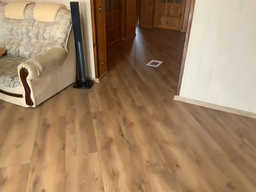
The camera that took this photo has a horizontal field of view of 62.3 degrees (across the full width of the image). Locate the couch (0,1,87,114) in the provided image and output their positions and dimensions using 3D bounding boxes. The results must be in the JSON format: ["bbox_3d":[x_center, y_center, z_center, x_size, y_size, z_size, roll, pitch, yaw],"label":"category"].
[{"bbox_3d":[-1.350,-0.600,2.760,1.150,1.000,1.050,14,32,20],"label":"couch"}]
